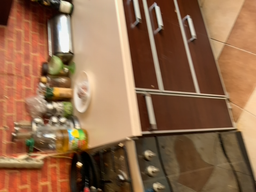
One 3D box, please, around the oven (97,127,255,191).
[{"bbox_3d":[0.290,0.580,1.320,0.640,0.690,0.630,-29,64,51],"label":"oven"}]
